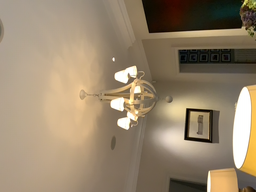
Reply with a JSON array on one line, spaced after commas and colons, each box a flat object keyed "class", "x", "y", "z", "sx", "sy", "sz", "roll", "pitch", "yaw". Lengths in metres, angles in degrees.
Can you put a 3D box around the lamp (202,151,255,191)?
[{"class": "lamp", "x": 1.330, "y": 1.040, "z": 2.480, "sx": 0.550, "sy": 0.840, "sz": 0.550, "roll": 63, "pitch": -146, "yaw": -57}]
